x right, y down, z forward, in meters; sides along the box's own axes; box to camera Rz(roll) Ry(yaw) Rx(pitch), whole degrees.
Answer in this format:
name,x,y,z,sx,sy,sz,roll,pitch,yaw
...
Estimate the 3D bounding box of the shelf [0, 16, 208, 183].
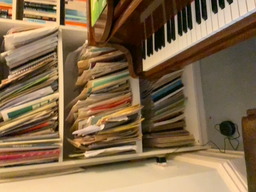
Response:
name,x,y,z,sx,sy,sz,roll,pitch,yaw
shelf,-0.450,0.030,1.370,0.440,2.050,0.830,164,105,-64
